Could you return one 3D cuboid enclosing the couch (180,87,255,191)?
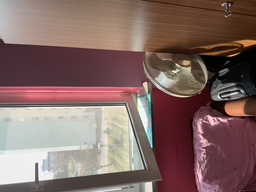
[{"bbox_3d":[0.850,0.340,1.280,0.840,0.650,0.690,153,116,-71],"label":"couch"}]
